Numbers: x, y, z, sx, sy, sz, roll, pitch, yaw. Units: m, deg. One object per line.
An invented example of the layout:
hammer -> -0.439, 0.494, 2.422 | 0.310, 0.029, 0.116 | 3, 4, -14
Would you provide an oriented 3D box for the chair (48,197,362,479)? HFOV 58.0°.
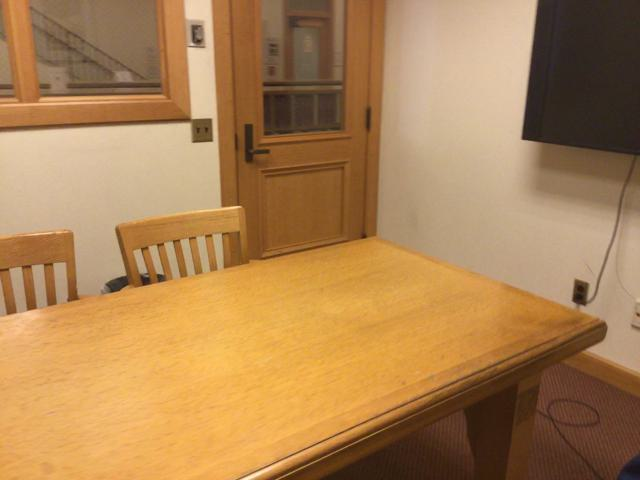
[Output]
chair -> -0.370, 0.370, 1.890 | 0.730, 0.830, 0.660 | -11, 21, -34
